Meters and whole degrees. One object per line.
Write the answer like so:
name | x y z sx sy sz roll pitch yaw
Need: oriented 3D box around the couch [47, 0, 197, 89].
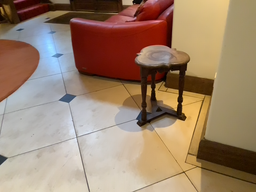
couch | 0.180 -1.090 2.990 1.210 0.760 2.190 11 38 21
